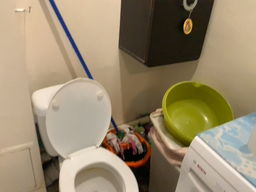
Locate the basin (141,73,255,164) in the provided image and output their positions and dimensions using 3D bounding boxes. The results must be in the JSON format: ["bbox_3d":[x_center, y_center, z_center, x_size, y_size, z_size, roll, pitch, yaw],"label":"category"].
[{"bbox_3d":[0.360,0.080,1.130,0.420,0.210,0.390,-12,34,-28],"label":"basin"}]

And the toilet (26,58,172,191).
[{"bbox_3d":[-0.230,0.330,1.160,0.400,0.820,0.750,-11,34,-27],"label":"toilet"}]

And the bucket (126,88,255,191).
[{"bbox_3d":[0.320,0.390,1.290,0.480,0.700,0.410,-11,34,-26],"label":"bucket"}]
